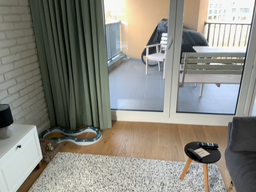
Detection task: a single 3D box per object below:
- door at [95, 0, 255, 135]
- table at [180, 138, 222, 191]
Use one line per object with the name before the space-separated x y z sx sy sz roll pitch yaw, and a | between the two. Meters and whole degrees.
door | 2.140 -0.740 2.370 5.090 2.750 0.090 2 23 7
table | 0.630 0.610 1.900 0.280 0.350 0.270 3 23 8
